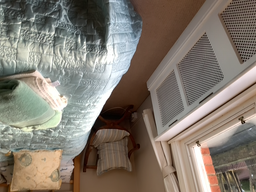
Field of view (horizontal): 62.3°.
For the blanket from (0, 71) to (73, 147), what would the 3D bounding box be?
[{"bbox_3d":[-0.550,0.110,1.140,0.420,0.160,0.580,5,149,-19],"label":"blanket"}]
